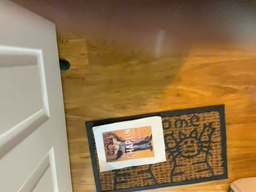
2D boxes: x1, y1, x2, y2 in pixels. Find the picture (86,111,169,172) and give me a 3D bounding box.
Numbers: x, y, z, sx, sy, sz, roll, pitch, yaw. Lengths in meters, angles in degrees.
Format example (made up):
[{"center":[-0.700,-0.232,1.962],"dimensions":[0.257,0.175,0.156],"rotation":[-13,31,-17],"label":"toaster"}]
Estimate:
[{"center":[0.000,0.200,0.920],"dimensions":[0.330,0.020,0.230],"rotation":[-7,100,0],"label":"picture"}]
